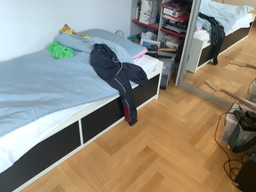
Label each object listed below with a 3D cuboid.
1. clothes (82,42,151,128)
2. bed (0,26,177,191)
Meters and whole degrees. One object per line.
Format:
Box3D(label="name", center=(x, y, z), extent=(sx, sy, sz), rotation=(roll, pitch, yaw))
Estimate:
Box3D(label="clothes", center=(-0.120, -0.120, 2.000), extent=(0.480, 0.570, 0.360), rotation=(32, 44, 33))
Box3D(label="bed", center=(-0.660, -0.020, 1.900), extent=(1.070, 0.480, 2.270), rotation=(30, 43, 31))
